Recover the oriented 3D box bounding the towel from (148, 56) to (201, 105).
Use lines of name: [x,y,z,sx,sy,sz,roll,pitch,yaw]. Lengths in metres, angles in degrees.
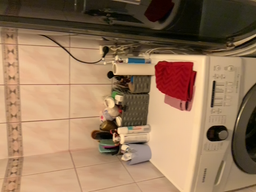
towel: [0.190,-0.080,0.930,0.260,0.070,0.170,-150,61,-63]
